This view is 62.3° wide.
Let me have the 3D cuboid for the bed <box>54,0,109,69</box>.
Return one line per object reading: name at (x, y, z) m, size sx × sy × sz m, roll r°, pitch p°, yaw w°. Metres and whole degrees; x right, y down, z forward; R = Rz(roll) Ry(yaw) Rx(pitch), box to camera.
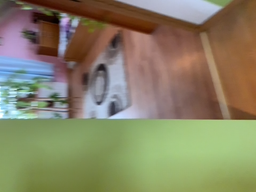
bed at (-1.080, -1.830, 4.440) m, size 1.690 × 0.500 × 1.890 m, roll -37°, pitch 56°, yaw 52°
